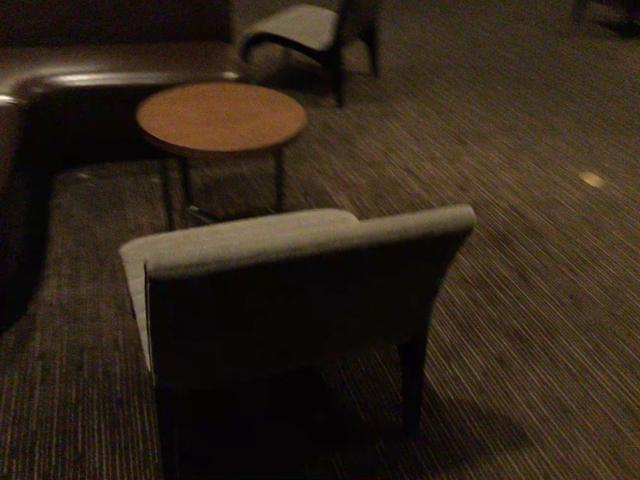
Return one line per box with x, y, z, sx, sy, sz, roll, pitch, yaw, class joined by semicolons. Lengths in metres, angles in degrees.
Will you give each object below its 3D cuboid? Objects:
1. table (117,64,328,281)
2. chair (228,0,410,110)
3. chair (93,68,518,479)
-0.360;-0.270;2.060;0.580;0.490;0.560;-9;39;-18;table
0.020;-1.320;3.400;0.810;0.780;0.800;14;32;18;chair
-0.120;0.100;1.460;0.710;0.800;0.710;-8;39;-19;chair
